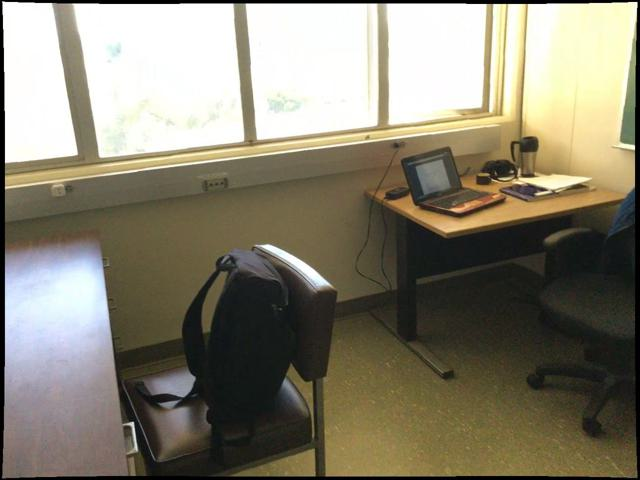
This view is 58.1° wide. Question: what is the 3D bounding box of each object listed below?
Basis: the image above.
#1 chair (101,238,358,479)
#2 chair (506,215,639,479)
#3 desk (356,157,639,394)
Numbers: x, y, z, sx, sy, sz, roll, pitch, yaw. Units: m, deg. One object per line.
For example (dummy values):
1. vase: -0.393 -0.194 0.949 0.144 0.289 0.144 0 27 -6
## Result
1. chair: -0.269 0.491 1.730 0.569 0.782 0.540 -11 20 -20
2. chair: 1.167 0.341 2.150 0.619 0.641 0.630 -11 20 -20
3. desk: 0.808 0.090 2.790 0.978 0.732 0.810 -11 20 -20
